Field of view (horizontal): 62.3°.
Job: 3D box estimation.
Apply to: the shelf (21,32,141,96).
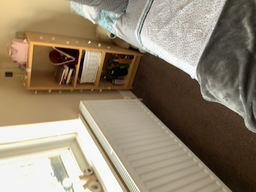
[{"bbox_3d":[-0.420,-0.280,2.030,0.310,1.020,0.430,46,127,42],"label":"shelf"}]
